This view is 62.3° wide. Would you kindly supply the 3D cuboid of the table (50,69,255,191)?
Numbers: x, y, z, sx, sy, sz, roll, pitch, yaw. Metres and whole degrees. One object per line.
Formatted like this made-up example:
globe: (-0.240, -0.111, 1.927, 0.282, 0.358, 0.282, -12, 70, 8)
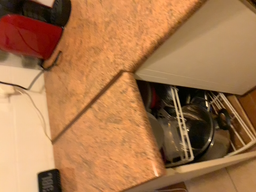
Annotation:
table: (0.200, 0.230, 0.910, 0.520, 0.850, 0.310, -41, 56, 39)
